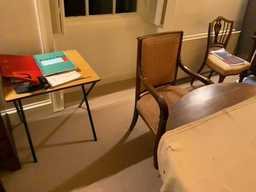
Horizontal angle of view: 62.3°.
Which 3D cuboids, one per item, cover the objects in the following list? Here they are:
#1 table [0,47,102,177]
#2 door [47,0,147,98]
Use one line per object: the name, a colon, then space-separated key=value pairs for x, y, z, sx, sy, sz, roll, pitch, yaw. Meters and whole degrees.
table: x=-0.610 y=0.100 z=1.760 sx=0.610 sy=0.770 sz=0.560 roll=-15 pitch=39 yaw=-26
door: x=-0.250 y=-1.230 z=1.990 sx=1.030 sy=2.650 sz=0.160 roll=-15 pitch=40 yaw=-27
